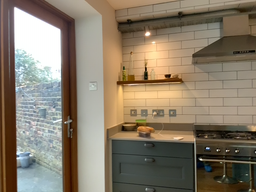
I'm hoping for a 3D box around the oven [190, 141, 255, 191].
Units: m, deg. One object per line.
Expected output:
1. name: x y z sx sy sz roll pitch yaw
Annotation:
1. oven: 0.940 0.890 2.140 0.590 0.710 0.630 -1 0 17
